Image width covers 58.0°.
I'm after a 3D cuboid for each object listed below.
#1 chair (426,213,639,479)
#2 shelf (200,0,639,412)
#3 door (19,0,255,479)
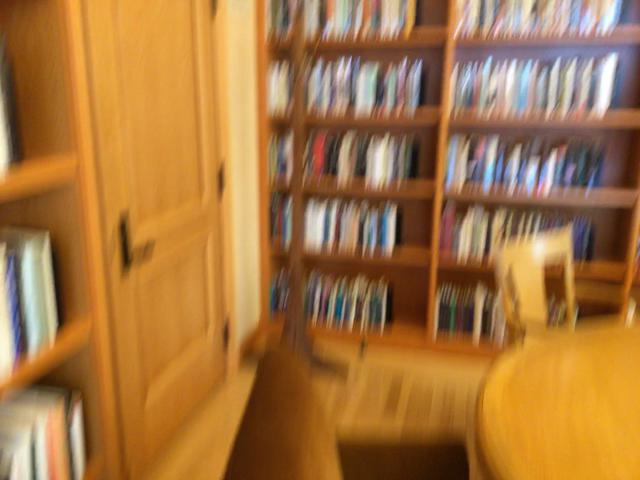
[{"bbox_3d":[0.950,0.430,2.310,0.770,0.900,0.680,-11,16,-35],"label":"chair"},{"bbox_3d":[1.490,-0.360,2.900,4.120,2.320,0.620,2,14,14],"label":"shelf"},{"bbox_3d":[-0.620,-0.400,2.250,0.240,2.630,1.050,2,14,14],"label":"door"}]
